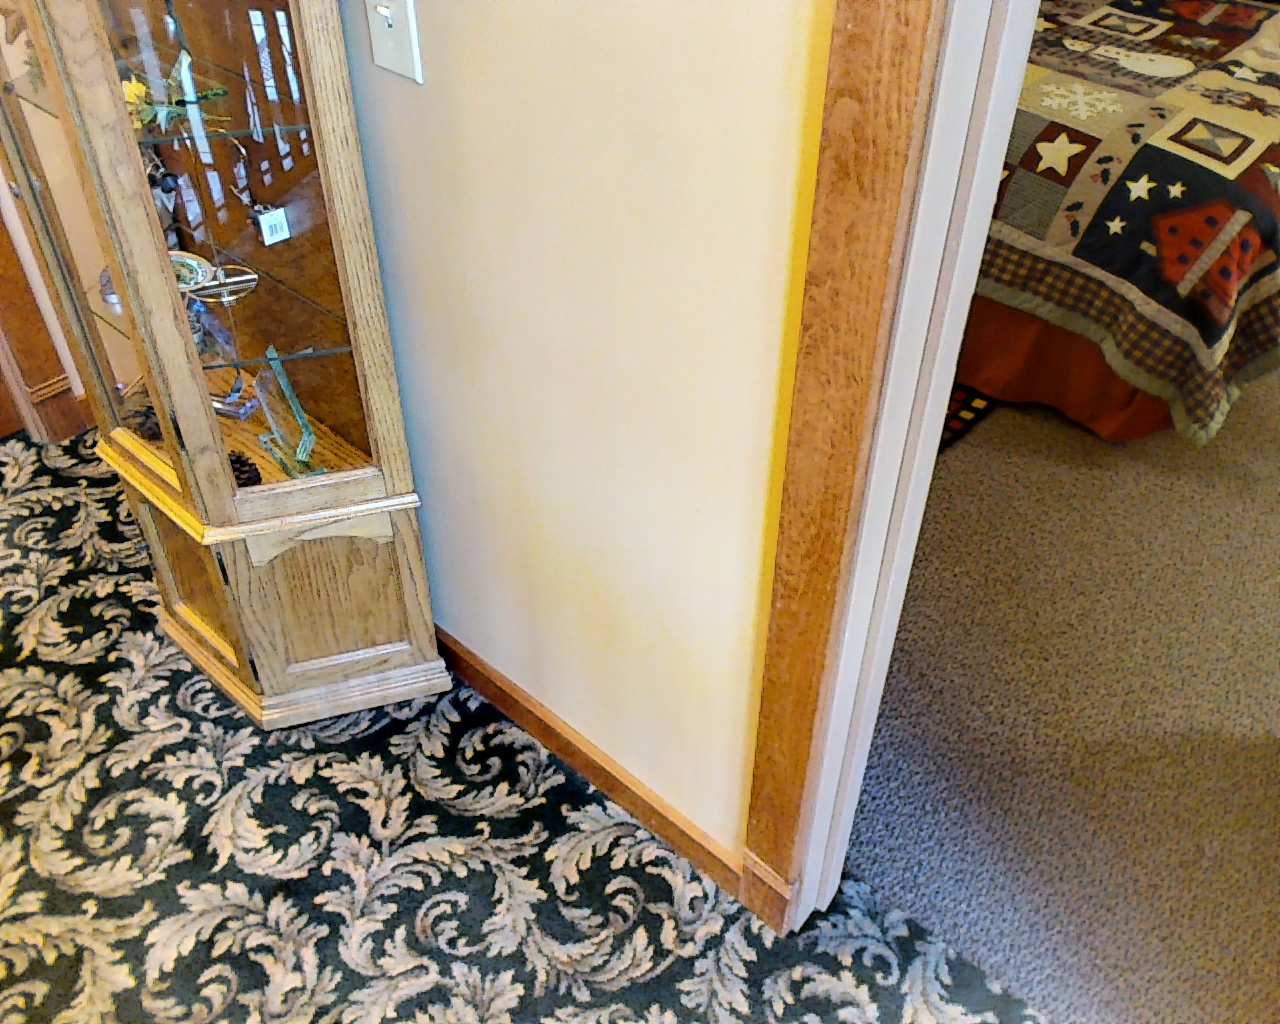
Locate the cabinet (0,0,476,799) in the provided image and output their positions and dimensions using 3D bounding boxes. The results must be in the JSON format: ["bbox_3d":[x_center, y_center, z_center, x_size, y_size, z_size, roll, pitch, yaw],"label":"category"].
[{"bbox_3d":[-0.710,-0.450,1.540,0.740,1.850,0.360,31,50,30],"label":"cabinet"}]
